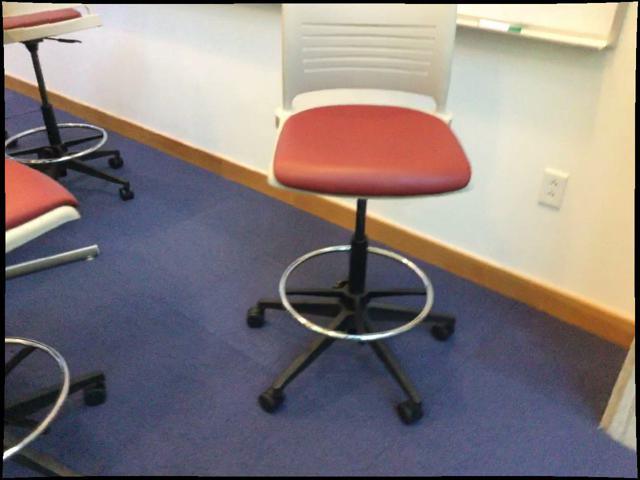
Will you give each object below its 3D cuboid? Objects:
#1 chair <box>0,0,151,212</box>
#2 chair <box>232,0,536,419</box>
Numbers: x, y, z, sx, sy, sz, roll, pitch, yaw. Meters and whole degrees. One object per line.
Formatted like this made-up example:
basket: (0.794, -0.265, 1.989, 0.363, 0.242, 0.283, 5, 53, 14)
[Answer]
chair: (-1.159, -0.781, 2.450, 0.480, 1.121, 0.510, 24, 39, 32)
chair: (0.120, -0.150, 1.570, 0.539, 1.121, 0.610, 2, 33, 2)
